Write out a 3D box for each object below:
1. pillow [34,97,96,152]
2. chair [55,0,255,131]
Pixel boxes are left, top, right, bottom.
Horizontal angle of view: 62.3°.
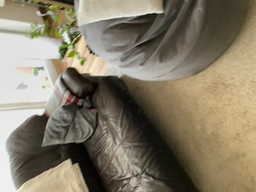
[{"bbox_3d":[-0.470,0.240,1.680,0.140,0.330,0.440,58,167,28],"label":"pillow"},{"bbox_3d":[0.100,-0.500,1.220,0.890,0.570,1.000,58,133,31],"label":"chair"}]
